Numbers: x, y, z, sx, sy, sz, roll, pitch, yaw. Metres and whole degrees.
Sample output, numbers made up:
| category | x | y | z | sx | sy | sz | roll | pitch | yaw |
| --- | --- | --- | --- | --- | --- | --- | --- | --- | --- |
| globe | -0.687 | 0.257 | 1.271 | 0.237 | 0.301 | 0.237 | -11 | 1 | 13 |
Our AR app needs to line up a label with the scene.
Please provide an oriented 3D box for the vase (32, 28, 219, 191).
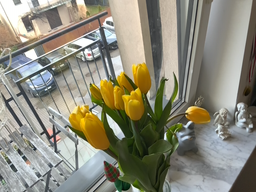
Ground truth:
| category | x | y | z | sx | sy | sz | roll | pitch | yaw |
| --- | --- | --- | --- | --- | --- | --- | --- | --- | --- |
| vase | 0.040 | 0.150 | 0.620 | 0.330 | 0.560 | 0.240 | -36 | 43 | -29 |
